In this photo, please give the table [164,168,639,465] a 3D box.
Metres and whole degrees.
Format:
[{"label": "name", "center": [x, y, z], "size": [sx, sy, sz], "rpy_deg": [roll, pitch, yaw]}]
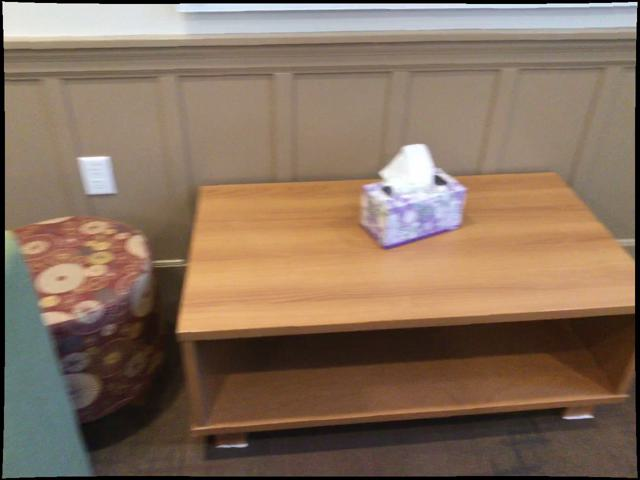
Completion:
[{"label": "table", "center": [0.199, 0.170, 1.620], "size": [1.107, 0.441, 0.651], "rpy_deg": [-3, 36, -4]}]
